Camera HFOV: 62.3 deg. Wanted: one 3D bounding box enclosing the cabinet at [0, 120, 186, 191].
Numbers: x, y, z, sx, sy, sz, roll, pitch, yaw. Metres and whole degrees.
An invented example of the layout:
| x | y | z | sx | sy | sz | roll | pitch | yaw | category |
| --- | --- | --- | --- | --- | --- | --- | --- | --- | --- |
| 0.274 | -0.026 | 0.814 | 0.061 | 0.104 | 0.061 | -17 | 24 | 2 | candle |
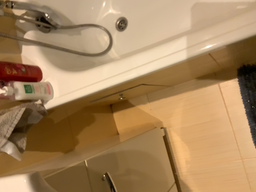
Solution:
| x | y | z | sx | sy | sz | roll | pitch | yaw | category |
| --- | --- | --- | --- | --- | --- | --- | --- | --- | --- |
| -0.040 | 0.430 | 0.800 | 0.310 | 0.770 | 0.530 | -17 | 83 | 26 | cabinet |
